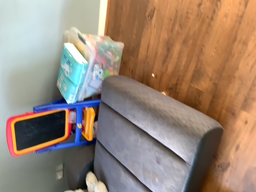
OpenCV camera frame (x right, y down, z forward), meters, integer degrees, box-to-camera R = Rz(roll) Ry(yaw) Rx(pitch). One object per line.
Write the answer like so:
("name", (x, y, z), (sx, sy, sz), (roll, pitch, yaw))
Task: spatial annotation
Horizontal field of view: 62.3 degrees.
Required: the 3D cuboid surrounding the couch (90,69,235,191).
("couch", (0.160, 0.330, 1.690), (0.950, 0.420, 0.770), (33, 124, 39))
